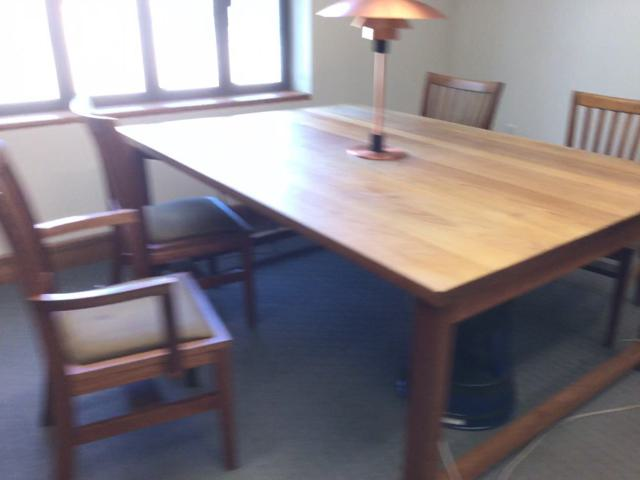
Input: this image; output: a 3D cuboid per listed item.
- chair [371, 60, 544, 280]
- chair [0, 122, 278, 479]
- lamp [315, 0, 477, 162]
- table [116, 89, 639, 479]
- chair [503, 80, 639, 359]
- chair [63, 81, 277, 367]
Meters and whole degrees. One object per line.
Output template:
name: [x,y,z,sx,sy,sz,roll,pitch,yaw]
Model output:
chair: [0.690,-0.380,2.920,0.570,0.950,0.580,-14,18,-33]
chair: [-0.580,0.200,1.650,0.600,0.990,0.710,-12,17,-26]
lamp: [0.270,-0.570,2.020,0.400,0.520,0.360,-14,18,-33]
table: [0.270,0.020,2.260,1.430,1.050,1.760,-14,18,-33]
chair: [1.180,-0.140,2.410,0.590,0.990,0.570,-18,20,-41]
chair: [-0.580,-0.110,2.310,0.620,0.920,0.560,-12,26,-29]
